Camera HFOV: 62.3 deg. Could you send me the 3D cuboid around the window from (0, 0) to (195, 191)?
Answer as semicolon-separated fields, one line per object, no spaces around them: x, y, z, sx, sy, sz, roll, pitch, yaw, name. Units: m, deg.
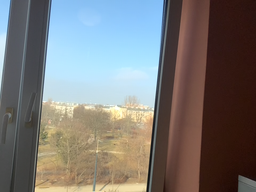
-0.470;0.120;0.910;1.570;1.890;0.210;5;-3;-21;window
